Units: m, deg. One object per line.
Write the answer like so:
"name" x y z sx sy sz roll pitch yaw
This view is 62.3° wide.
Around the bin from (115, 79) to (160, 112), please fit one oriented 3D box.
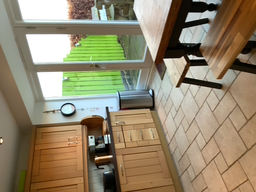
"bin" 0.150 -0.010 3.860 0.360 0.700 0.420 102 160 -50
